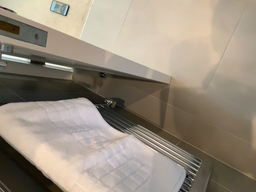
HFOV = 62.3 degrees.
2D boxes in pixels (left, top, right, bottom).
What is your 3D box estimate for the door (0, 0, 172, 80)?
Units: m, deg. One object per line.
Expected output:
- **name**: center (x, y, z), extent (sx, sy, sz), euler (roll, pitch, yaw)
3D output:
- **door**: center (-0.530, -0.180, 0.400), extent (0.780, 1.980, 0.050), euler (10, 94, 24)
